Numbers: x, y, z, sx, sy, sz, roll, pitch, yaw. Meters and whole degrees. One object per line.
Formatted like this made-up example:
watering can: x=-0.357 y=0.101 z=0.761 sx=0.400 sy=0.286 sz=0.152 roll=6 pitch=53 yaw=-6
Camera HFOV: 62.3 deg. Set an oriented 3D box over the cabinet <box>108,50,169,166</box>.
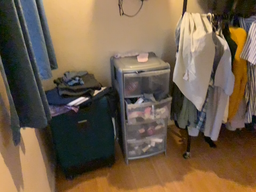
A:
cabinet: x=0.080 y=0.100 z=1.800 sx=0.360 sy=0.860 sz=0.390 roll=-10 pitch=29 yaw=-13
